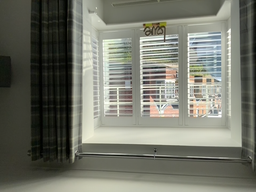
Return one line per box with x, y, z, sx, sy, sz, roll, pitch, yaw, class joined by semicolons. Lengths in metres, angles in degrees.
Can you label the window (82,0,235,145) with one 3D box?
0.330;-0.610;2.670;1.800;2.330;0.270;-1;-178;13;window
